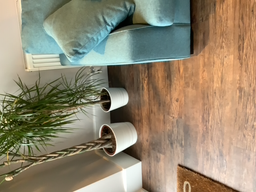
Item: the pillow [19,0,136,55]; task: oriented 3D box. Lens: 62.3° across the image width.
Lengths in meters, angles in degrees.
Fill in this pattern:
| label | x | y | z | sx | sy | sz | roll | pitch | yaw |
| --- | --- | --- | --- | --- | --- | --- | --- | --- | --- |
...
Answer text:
| label | x | y | z | sx | sy | sz | roll | pitch | yaw |
| --- | --- | --- | --- | --- | --- | --- | --- | --- | --- |
| pillow | -0.240 | -0.470 | 1.250 | 0.480 | 0.500 | 0.240 | 28 | 104 | 0 |
